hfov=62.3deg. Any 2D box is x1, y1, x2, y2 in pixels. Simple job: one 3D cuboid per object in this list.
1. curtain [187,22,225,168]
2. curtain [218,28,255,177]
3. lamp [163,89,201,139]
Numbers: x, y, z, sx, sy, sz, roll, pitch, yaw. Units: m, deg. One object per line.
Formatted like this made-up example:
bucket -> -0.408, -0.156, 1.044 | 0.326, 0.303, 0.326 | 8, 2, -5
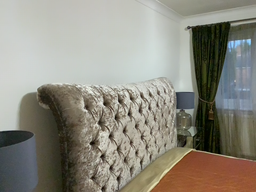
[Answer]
curtain -> 1.210, 0.010, 3.320 | 0.530, 2.150, 0.180 | 2, 6, 31
curtain -> 2.020, 0.120, 2.850 | 1.470, 2.060, 0.150 | 1, 6, 30
lamp -> 0.760, 0.220, 2.970 | 0.390, 0.600, 0.450 | 2, 7, 33
